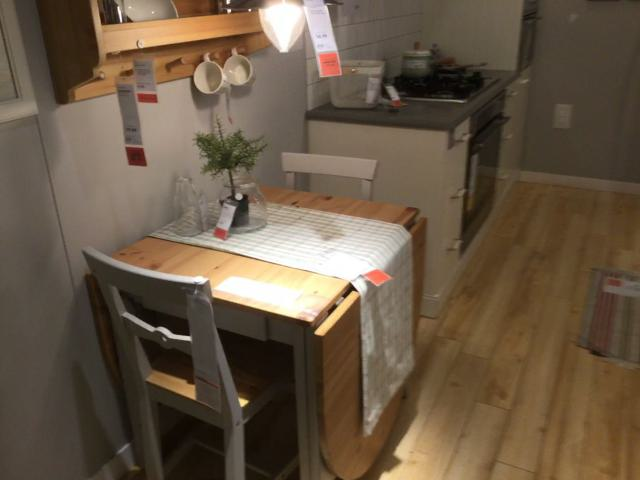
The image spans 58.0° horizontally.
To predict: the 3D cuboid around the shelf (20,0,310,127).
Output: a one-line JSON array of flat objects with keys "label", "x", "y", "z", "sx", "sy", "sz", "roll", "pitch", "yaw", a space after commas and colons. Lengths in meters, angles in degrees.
[{"label": "shelf", "x": -0.400, "y": -0.940, "z": 1.530, "sx": 0.200, "sy": 1.070, "sz": 0.910, "roll": 8, "pitch": 27, "yaw": 30}]
